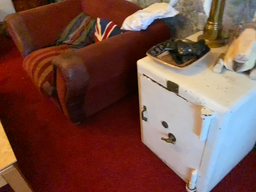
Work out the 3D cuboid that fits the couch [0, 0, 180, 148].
[{"bbox_3d":[-0.420,-0.450,2.100,1.050,0.790,1.410,-31,45,-29],"label":"couch"}]
